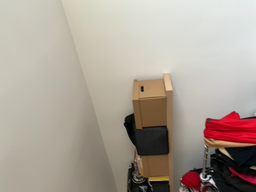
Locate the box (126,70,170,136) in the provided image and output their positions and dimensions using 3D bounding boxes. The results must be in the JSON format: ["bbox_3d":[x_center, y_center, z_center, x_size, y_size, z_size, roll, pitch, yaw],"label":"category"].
[{"bbox_3d":[0.190,0.070,1.840,0.330,0.320,0.460,-81,-13,-50],"label":"box"}]

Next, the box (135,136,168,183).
[{"bbox_3d":[0.270,0.690,2.320,0.320,0.320,0.400,-81,-14,-50],"label":"box"}]
